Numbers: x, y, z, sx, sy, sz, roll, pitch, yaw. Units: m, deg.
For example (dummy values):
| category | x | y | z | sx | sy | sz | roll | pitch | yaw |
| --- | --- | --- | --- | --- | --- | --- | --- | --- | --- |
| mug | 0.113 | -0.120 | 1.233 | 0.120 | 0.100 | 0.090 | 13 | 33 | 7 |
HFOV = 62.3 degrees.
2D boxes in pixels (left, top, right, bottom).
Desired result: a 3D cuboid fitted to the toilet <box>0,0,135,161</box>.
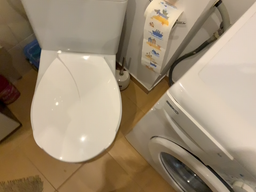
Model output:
| category | x | y | z | sx | sy | sz | roll | pitch | yaw |
| --- | --- | --- | --- | --- | --- | --- | --- | --- | --- |
| toilet | -0.220 | -0.070 | 0.930 | 0.360 | 0.720 | 0.670 | 1 | 73 | -8 |
